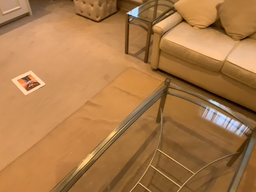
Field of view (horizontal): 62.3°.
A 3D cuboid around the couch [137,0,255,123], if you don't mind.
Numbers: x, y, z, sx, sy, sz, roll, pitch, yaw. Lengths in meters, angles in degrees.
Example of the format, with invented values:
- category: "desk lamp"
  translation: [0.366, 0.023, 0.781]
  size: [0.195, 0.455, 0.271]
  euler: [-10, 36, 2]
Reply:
- category: "couch"
  translation: [0.950, -0.540, 2.010]
  size: [1.420, 0.840, 0.880]
  euler: [28, 51, 22]
